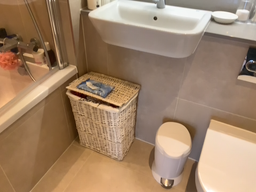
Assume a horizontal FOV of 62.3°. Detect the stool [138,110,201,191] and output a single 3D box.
[{"bbox_3d":[0.240,0.320,1.270,0.260,0.320,0.250,18,40,21],"label":"stool"}]
